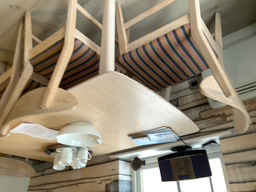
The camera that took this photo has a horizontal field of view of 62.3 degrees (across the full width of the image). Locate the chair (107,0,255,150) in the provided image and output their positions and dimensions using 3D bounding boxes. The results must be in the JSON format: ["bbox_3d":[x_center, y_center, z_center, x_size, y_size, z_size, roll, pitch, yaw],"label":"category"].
[{"bbox_3d":[0.270,-0.200,1.240,0.550,0.840,0.530,-21,146,31],"label":"chair"}]
